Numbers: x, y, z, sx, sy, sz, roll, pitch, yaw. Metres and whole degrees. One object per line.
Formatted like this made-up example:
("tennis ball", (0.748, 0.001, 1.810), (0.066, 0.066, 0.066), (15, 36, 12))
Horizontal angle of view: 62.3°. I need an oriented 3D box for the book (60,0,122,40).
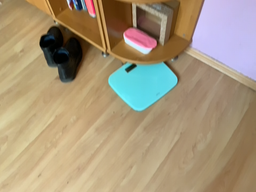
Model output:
("book", (-0.230, -0.550, 1.230), (0.380, 0.280, 0.130), (35, 70, 17))
